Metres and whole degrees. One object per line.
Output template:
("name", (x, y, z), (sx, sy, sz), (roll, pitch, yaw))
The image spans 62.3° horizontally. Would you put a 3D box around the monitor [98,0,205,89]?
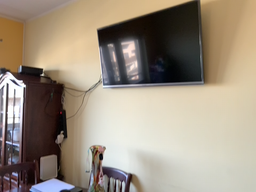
("monitor", (0.120, -0.340, 1.630), (0.900, 0.560, 0.070), (2, 1, 38))
